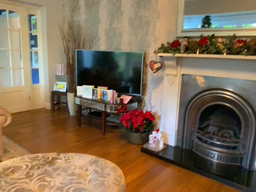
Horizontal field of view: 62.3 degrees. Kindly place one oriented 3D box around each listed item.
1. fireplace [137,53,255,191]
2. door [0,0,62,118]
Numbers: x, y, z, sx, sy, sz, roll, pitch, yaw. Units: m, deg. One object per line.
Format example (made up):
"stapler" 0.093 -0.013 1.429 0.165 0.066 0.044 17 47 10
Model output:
"fireplace" 0.960 0.160 2.300 1.500 1.180 0.750 10 14 36
"door" -2.170 -0.730 3.750 0.170 2.210 2.110 12 15 38
